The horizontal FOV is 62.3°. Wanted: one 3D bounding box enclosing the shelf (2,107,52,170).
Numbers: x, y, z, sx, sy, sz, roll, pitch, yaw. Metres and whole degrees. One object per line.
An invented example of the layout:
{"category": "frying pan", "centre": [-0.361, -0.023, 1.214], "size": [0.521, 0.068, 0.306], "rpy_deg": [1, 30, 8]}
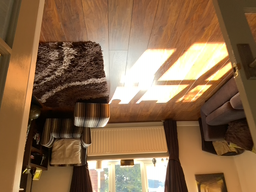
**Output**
{"category": "shelf", "centre": [-1.660, 0.760, 3.640], "size": [0.380, 0.880, 0.910], "rpy_deg": [-1, 157, -4]}

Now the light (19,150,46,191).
{"category": "light", "centre": [-1.680, 1.570, 3.670], "size": [0.360, 1.160, 0.230], "rpy_deg": [-23, 150, 39]}

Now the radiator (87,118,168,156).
{"category": "radiator", "centre": [-0.020, 0.800, 4.230], "size": [1.540, 0.670, 0.110], "rpy_deg": [-2, 157, -4]}
